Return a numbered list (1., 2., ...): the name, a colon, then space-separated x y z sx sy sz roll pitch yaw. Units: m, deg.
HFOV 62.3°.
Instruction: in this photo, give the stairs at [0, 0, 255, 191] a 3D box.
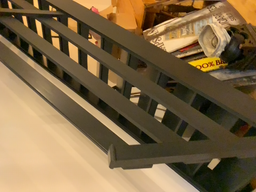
1. stairs: -0.700 -0.760 2.650 4.090 3.360 0.720 -106 20 -44
